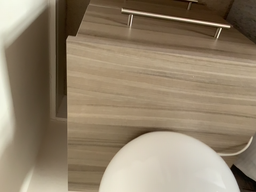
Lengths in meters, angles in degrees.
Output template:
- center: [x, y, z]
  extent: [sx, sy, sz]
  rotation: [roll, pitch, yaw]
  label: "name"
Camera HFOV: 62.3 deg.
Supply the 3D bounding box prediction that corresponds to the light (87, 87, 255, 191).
- center: [0.070, 0.190, 0.370]
  extent: [0.250, 0.240, 0.280]
  rotation: [12, 125, -12]
  label: "light"
